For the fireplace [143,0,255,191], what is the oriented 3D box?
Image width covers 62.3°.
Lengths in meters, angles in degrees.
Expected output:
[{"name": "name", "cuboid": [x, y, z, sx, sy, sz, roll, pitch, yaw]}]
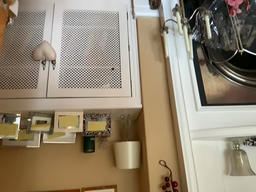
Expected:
[{"name": "fireplace", "cuboid": [0.990, -0.160, 1.440, 1.570, 1.630, 0.620, -2, 160, -5]}]

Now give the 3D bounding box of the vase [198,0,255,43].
[{"name": "vase", "cuboid": [0.820, -0.700, 1.560, 0.410, 0.470, 0.380, -2, 160, -5]}]
